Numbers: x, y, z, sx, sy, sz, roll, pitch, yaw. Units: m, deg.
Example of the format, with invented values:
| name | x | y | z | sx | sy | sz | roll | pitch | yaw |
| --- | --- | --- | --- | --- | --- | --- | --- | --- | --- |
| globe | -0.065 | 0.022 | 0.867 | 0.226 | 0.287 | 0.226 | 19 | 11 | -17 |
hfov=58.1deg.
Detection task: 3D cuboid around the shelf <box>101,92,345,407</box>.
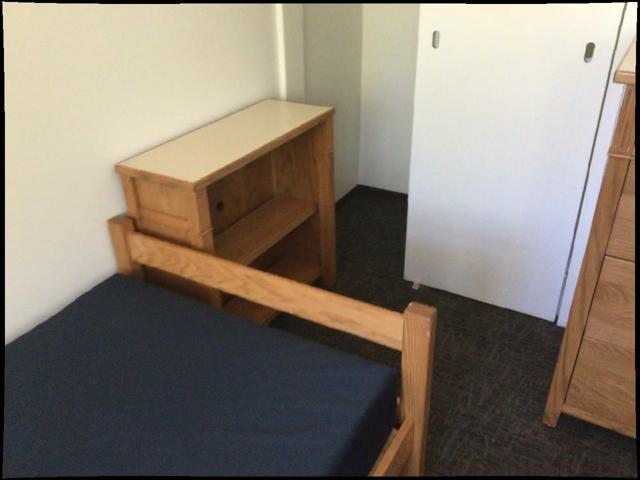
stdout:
| name | x | y | z | sx | sy | sz | roll | pitch | yaw |
| --- | --- | --- | --- | --- | --- | --- | --- | --- | --- |
| shelf | -0.259 | -0.020 | 2.100 | 0.369 | 0.771 | 0.850 | 14 | 34 | 24 |
